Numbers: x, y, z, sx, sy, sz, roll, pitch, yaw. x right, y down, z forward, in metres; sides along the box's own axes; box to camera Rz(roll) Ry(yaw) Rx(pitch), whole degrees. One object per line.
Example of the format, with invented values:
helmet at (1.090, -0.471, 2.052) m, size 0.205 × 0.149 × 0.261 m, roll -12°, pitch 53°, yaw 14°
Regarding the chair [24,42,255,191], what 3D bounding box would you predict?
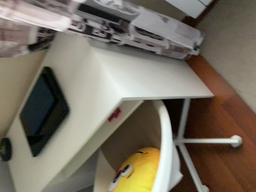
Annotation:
chair at (0.080, 0.270, 1.050) m, size 0.610 × 0.790 × 0.680 m, roll -45°, pitch 62°, yaw 32°
